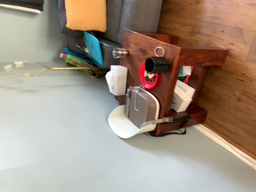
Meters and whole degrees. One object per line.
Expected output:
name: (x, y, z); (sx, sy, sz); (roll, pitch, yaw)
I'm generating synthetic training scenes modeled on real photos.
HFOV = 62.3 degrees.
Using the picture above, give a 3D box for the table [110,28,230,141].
table: (0.270, -0.140, 1.690); (0.650, 0.510, 0.630); (38, 126, 49)
